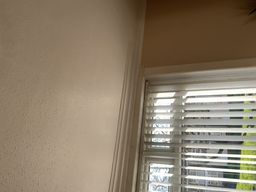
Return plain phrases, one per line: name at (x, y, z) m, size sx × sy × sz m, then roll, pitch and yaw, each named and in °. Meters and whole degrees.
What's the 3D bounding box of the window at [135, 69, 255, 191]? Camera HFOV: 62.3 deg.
window at (0.950, 0.530, 1.950) m, size 0.230 × 1.710 × 1.610 m, roll 50°, pitch -138°, yaw -58°
